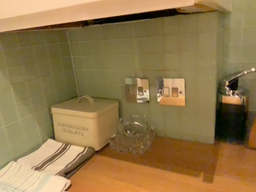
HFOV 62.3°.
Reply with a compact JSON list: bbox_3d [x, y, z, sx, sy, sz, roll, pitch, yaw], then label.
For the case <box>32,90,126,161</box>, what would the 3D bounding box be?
[{"bbox_3d":[-0.150,0.080,0.710,0.200,0.140,0.210,4,19,28],"label":"case"}]
